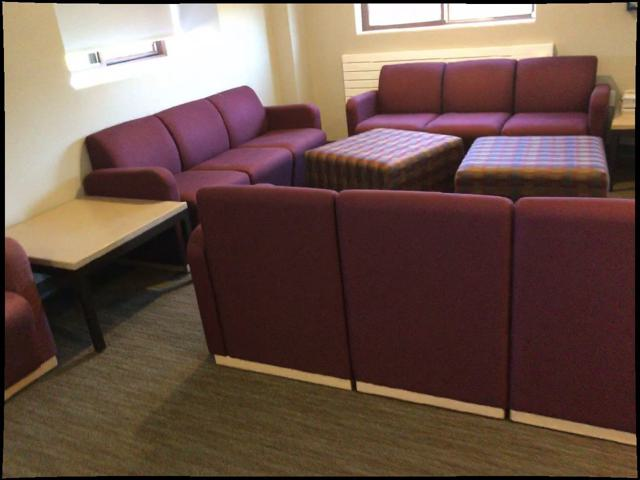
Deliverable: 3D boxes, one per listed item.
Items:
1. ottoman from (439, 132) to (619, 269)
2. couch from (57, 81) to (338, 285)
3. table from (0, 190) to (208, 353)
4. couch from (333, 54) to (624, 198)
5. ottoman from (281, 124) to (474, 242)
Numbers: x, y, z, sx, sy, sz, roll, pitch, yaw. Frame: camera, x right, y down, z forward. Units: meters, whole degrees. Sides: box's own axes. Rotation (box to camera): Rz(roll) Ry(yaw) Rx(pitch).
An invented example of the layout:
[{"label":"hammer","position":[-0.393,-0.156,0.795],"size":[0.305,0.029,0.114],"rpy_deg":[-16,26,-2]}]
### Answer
[{"label":"ottoman","position":[1.217,-0.281,3.340],"size":[0.838,0.501,0.810],"rpy_deg":[7,25,27]},{"label":"couch","position":[-0.658,-0.531,3.970],"size":[0.778,0.832,1.920],"rpy_deg":[7,25,26]},{"label":"table","position":[-1.197,0.100,2.990],"size":[0.798,0.421,0.870],"rpy_deg":[7,25,26]},{"label":"couch","position":[1.177,-0.922,4.410],"size":[1.936,0.822,0.850],"rpy_deg":[7,25,27]},{"label":"ottoman","position":[0.429,-0.441,3.900],"size":[0.968,0.471,0.990],"rpy_deg":[7,25,27]}]
